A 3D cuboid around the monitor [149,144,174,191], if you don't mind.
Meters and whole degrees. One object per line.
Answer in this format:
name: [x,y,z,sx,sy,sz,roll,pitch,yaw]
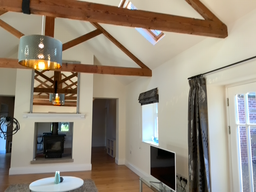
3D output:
monitor: [0.530,1.140,3.520,0.070,0.570,0.850,2,-7,-15]
